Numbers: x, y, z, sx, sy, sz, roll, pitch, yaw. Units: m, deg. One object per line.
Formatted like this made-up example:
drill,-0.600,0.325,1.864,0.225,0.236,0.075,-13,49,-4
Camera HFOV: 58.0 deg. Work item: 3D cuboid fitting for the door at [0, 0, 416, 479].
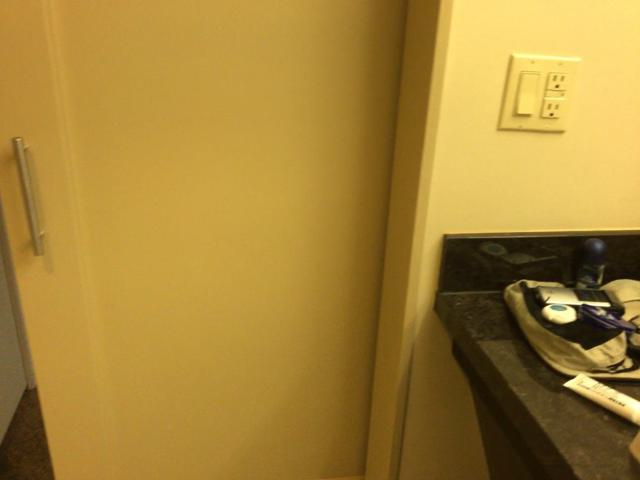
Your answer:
door,-0.210,-0.090,1.020,0.690,2.010,0.100,-2,25,-10
